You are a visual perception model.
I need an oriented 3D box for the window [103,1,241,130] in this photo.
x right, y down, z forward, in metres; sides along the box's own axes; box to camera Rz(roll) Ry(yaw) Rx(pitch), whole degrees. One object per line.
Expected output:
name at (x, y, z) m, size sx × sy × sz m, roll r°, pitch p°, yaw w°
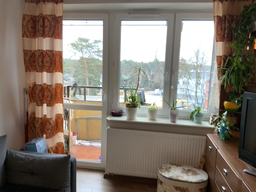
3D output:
window at (0.500, -0.400, 2.800) m, size 1.630 × 1.570 × 0.200 m, roll 3°, pitch 8°, yaw 8°

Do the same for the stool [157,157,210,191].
stool at (0.610, 1.040, 2.450) m, size 0.530 × 0.430 × 0.460 m, roll 4°, pitch 8°, yaw 11°

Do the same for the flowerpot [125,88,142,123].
flowerpot at (0.080, 0.120, 2.870) m, size 0.200 × 0.410 × 0.320 m, roll 3°, pitch 8°, yaw 5°
